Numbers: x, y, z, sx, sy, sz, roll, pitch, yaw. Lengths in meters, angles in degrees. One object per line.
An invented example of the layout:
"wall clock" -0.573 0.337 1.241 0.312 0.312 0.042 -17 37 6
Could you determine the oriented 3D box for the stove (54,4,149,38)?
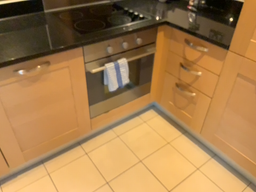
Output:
"stove" -0.200 -0.580 1.580 0.520 0.020 0.490 -25 46 -31
